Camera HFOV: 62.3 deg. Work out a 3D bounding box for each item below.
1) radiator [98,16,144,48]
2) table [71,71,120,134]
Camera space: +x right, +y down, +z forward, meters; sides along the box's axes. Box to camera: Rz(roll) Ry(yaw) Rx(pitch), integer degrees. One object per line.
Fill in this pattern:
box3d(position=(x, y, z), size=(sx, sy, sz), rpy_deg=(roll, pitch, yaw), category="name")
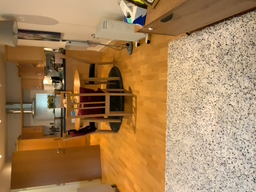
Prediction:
box3d(position=(-0.100, -0.820, 2.780), size=(0.430, 0.490, 0.280), rpy_deg=(-167, 77, -69), category="radiator")
box3d(position=(-0.680, 0.070, 4.150), size=(1.100, 0.750, 1.050), rpy_deg=(-170, 80, -70), category="table")
